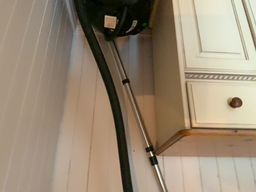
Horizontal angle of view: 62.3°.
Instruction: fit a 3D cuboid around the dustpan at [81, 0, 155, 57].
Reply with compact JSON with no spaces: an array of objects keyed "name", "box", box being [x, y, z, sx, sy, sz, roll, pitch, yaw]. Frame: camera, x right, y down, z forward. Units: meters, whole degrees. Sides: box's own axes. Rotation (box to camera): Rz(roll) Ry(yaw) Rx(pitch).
[{"name":"dustpan","box":[-0.060,-0.470,1.140,0.310,0.330,0.390,3,156,-6]}]
